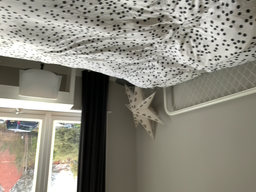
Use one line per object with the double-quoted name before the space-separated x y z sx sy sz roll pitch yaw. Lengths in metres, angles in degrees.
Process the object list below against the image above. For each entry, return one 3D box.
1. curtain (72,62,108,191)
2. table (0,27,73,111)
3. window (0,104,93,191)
"curtain" -0.500 0.680 2.870 0.410 2.350 0.130 6 164 -24
"table" -1.340 -0.300 2.530 1.210 0.790 0.490 6 164 -24
"window" -1.360 1.050 2.760 1.770 1.870 0.070 6 164 -23
